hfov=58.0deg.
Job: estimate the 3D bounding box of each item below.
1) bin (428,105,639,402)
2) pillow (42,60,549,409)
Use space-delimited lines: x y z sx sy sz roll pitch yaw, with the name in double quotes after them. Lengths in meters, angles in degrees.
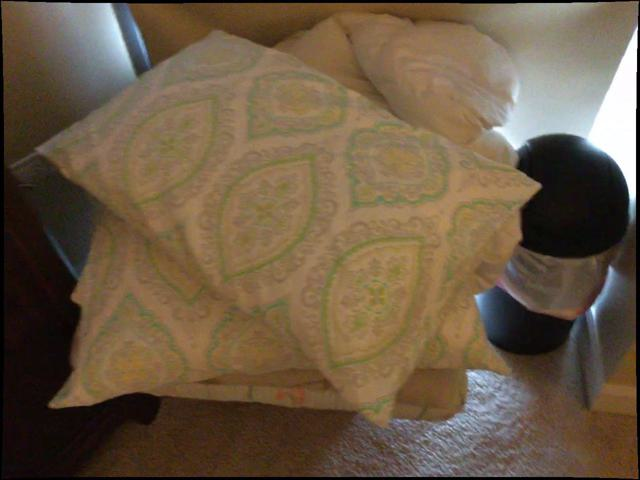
0.469 0.050 1.280 0.340 0.531 0.260 -33 54 -19 "bin"
-0.040 -0.050 1.130 0.748 0.170 0.691 -4 50 4 "pillow"
